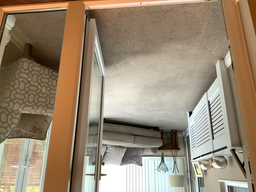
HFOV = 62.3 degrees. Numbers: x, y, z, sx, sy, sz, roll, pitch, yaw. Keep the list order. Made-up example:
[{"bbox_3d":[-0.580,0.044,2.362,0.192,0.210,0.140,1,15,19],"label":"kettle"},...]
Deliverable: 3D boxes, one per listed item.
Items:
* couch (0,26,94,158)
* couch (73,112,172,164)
[{"bbox_3d":[-0.940,0.090,1.990,0.790,0.890,0.880,-14,156,34],"label":"couch"},{"bbox_3d":[-0.110,1.020,4.680,1.790,0.840,1.120,13,157,-31],"label":"couch"}]
